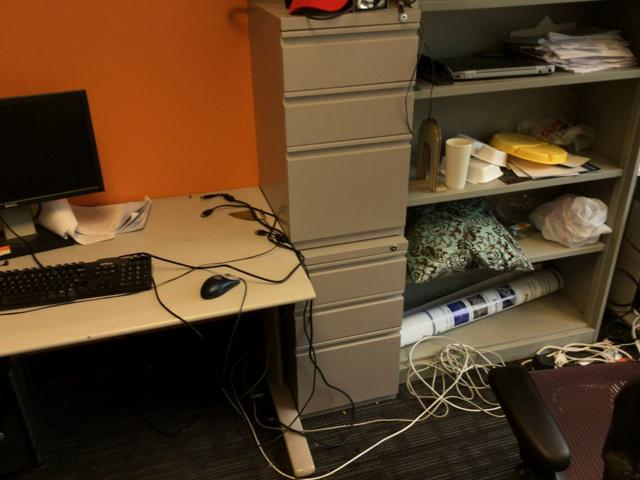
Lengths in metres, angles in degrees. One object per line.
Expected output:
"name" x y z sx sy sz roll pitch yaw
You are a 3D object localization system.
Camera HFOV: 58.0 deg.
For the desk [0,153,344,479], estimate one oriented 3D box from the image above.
"desk" -0.670 0.310 1.740 1.300 0.820 0.770 -8 28 -13
